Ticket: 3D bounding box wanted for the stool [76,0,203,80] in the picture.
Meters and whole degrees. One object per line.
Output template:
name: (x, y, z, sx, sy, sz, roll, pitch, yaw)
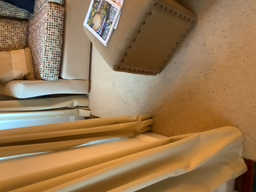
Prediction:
stool: (0.050, -0.450, 1.350, 0.470, 0.460, 0.480, 53, 124, 32)
